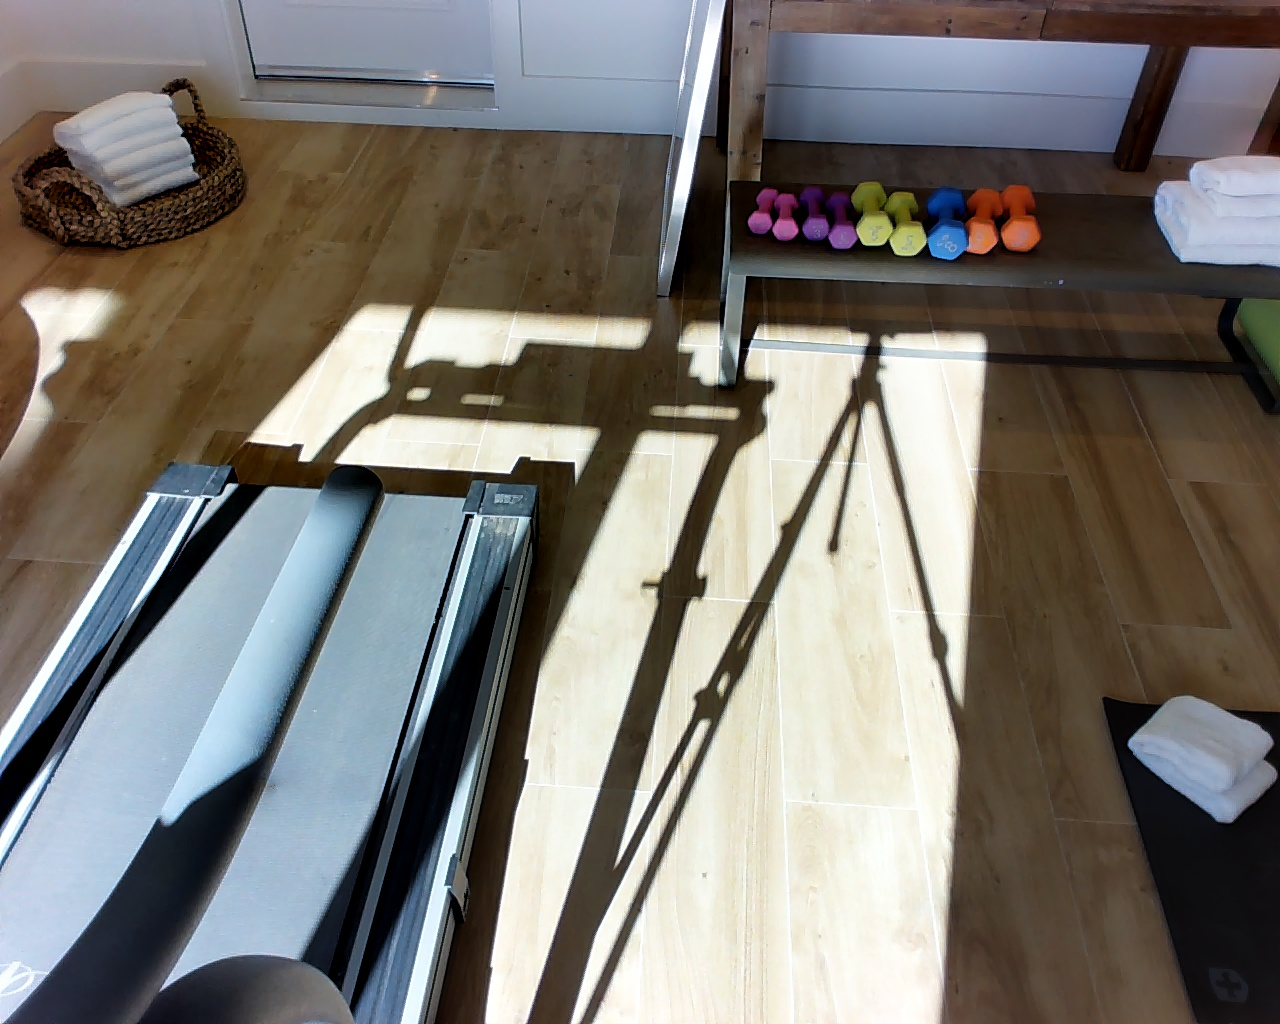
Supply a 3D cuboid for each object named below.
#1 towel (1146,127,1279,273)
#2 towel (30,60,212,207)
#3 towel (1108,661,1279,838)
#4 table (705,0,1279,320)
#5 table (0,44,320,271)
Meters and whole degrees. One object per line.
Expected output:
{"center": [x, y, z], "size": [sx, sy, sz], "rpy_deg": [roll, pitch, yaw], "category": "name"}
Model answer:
{"center": [1.360, -0.700, 2.410], "size": [0.300, 0.200, 0.280], "rpy_deg": [4, 42, 2], "category": "towel"}
{"center": [-1.560, -1.150, 3.250], "size": [0.330, 0.260, 0.320], "rpy_deg": [32, 50, 29], "category": "towel"}
{"center": [0.970, 0.400, 1.840], "size": [0.190, 0.090, 0.230], "rpy_deg": [-29, 51, -29], "category": "towel"}
{"center": [0.980, -1.210, 3.100], "size": [1.520, 0.800, 1.000], "rpy_deg": [3, 44, 2], "category": "table"}
{"center": [-1.560, -1.130, 3.330], "size": [0.770, 0.250, 0.930], "rpy_deg": [7, 43, 6], "category": "table"}
